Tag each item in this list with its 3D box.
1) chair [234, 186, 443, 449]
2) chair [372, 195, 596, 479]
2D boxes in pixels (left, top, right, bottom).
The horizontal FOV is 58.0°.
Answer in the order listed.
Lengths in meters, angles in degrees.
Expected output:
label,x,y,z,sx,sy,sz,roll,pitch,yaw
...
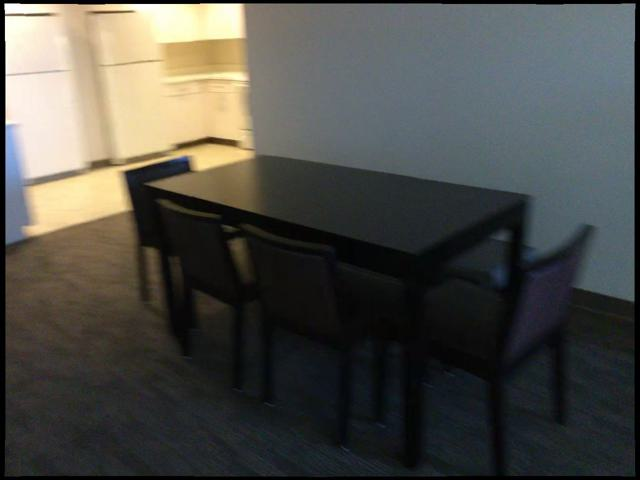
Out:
label,x,y,z,sx,sy,sz,roll,pitch,yaw
chair,0.090,0.251,2.220,0.549,0.721,0.520,17,31,41
chair,0.539,0.311,1.970,0.520,0.751,0.470,17,31,41
